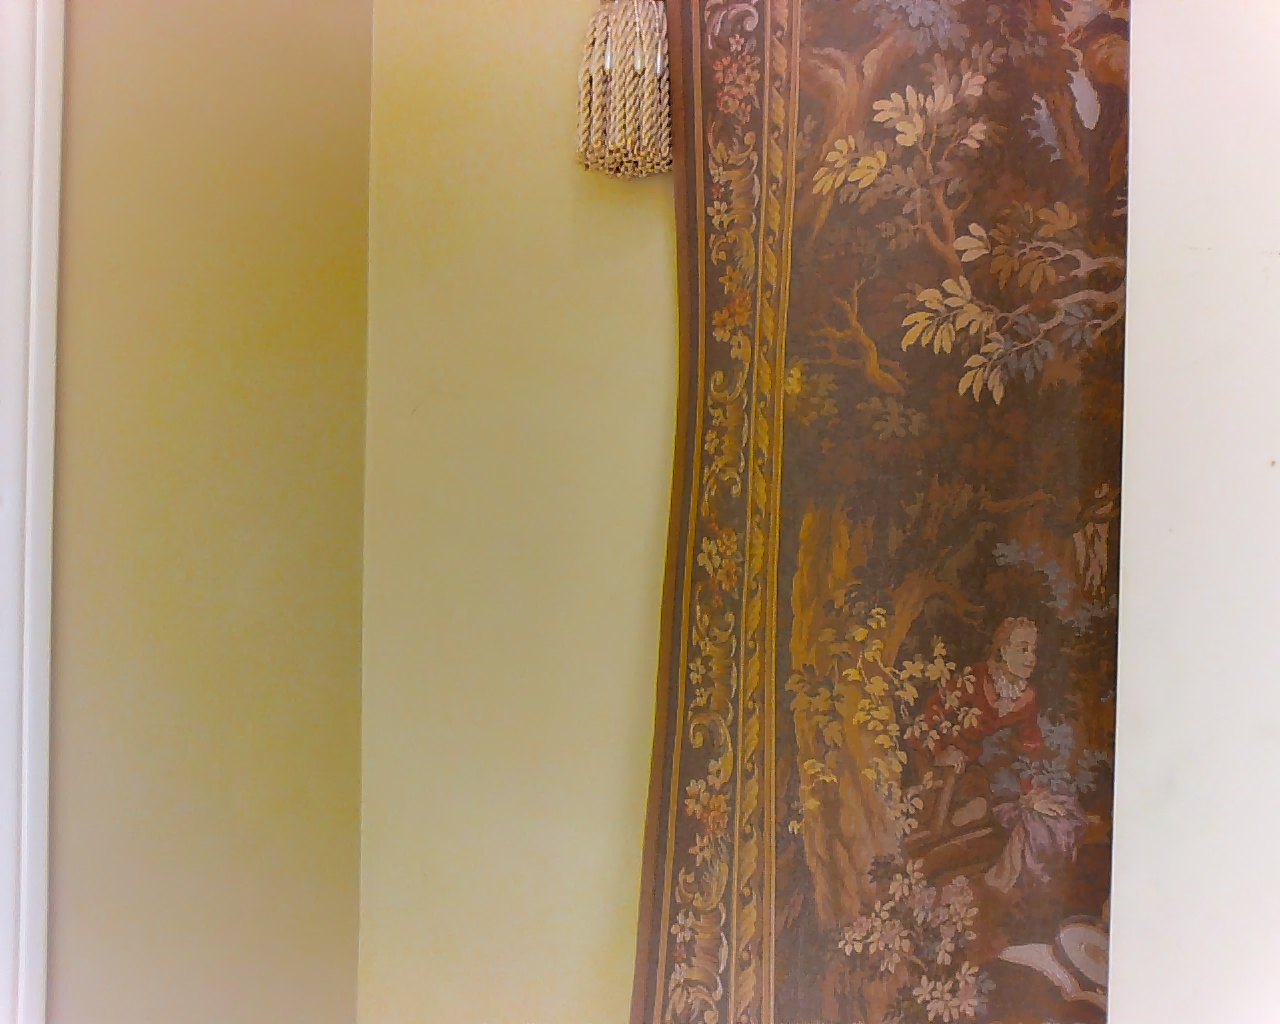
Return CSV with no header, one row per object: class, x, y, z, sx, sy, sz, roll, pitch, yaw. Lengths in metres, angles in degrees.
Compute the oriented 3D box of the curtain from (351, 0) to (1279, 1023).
curtain,0.250,0.050,0.660,0.930,1.460,0.210,1,1,29
